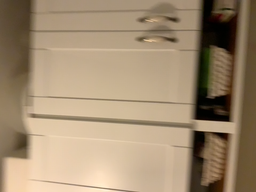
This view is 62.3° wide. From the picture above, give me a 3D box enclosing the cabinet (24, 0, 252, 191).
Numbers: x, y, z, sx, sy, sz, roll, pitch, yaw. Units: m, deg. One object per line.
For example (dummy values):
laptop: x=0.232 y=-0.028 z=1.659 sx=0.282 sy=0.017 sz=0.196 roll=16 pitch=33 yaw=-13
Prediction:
cabinet: x=0.010 y=0.110 z=0.880 sx=0.330 sy=0.740 sz=1.210 roll=-25 pitch=-62 yaw=-80
